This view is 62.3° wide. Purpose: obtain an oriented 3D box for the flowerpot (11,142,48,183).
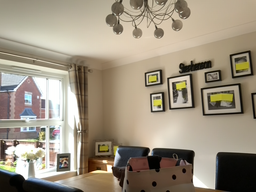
[{"bbox_3d":[-1.240,0.830,2.700,0.340,0.440,0.300,-2,-6,-1],"label":"flowerpot"}]
